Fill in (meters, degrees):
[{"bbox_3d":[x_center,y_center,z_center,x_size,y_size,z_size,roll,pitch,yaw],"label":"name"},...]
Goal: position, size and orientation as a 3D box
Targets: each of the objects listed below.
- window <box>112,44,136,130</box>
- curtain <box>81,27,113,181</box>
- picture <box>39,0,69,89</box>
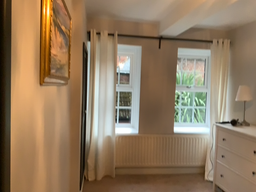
[{"bbox_3d":[-0.070,-0.150,3.880,0.390,1.550,0.110,1,3,-6],"label":"window"},{"bbox_3d":[-0.470,0.140,3.210,0.420,2.250,0.150,1,3,-12],"label":"curtain"},{"bbox_3d":[-0.470,-0.380,1.430,0.040,0.640,0.890,1,3,-10],"label":"picture"}]
